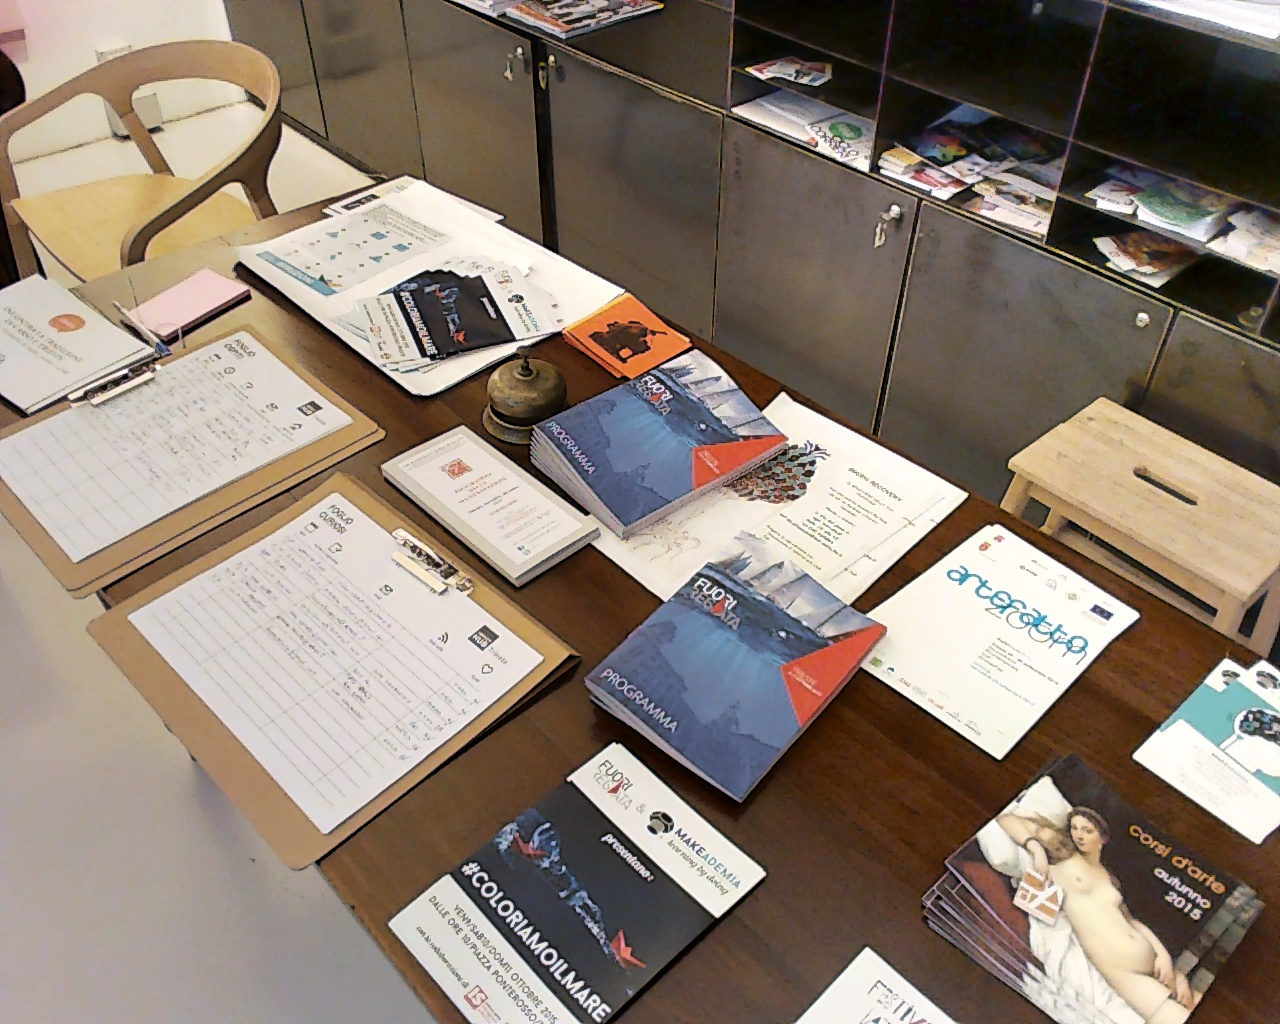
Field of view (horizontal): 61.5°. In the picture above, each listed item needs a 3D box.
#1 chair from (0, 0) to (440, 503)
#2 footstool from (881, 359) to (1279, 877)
[{"bbox_3d":[-0.960,-0.610,2.310,0.770,0.710,0.620,32,51,31],"label":"chair"},{"bbox_3d":[0.720,0.150,1.660,0.390,0.510,0.470,-30,50,-29],"label":"footstool"}]
